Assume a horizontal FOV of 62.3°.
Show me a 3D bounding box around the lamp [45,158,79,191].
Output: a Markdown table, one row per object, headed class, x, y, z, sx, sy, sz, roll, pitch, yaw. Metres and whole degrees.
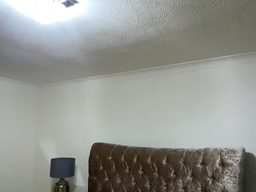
| class | x | y | z | sx | sy | sz | roll | pitch | yaw |
| --- | --- | --- | --- | --- | --- | --- | --- | --- | --- |
| lamp | -0.860 | 1.110 | 2.760 | 0.280 | 0.550 | 0.290 | -5 | -11 | 29 |
